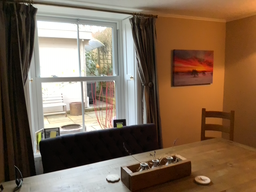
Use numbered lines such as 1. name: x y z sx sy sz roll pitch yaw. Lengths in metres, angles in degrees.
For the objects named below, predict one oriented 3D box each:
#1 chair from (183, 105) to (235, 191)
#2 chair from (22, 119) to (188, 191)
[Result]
1. chair: 1.000 0.680 2.610 0.490 1.060 0.500 2 7 32
2. chair: -0.200 0.830 2.150 1.490 0.920 0.650 -4 7 -25
